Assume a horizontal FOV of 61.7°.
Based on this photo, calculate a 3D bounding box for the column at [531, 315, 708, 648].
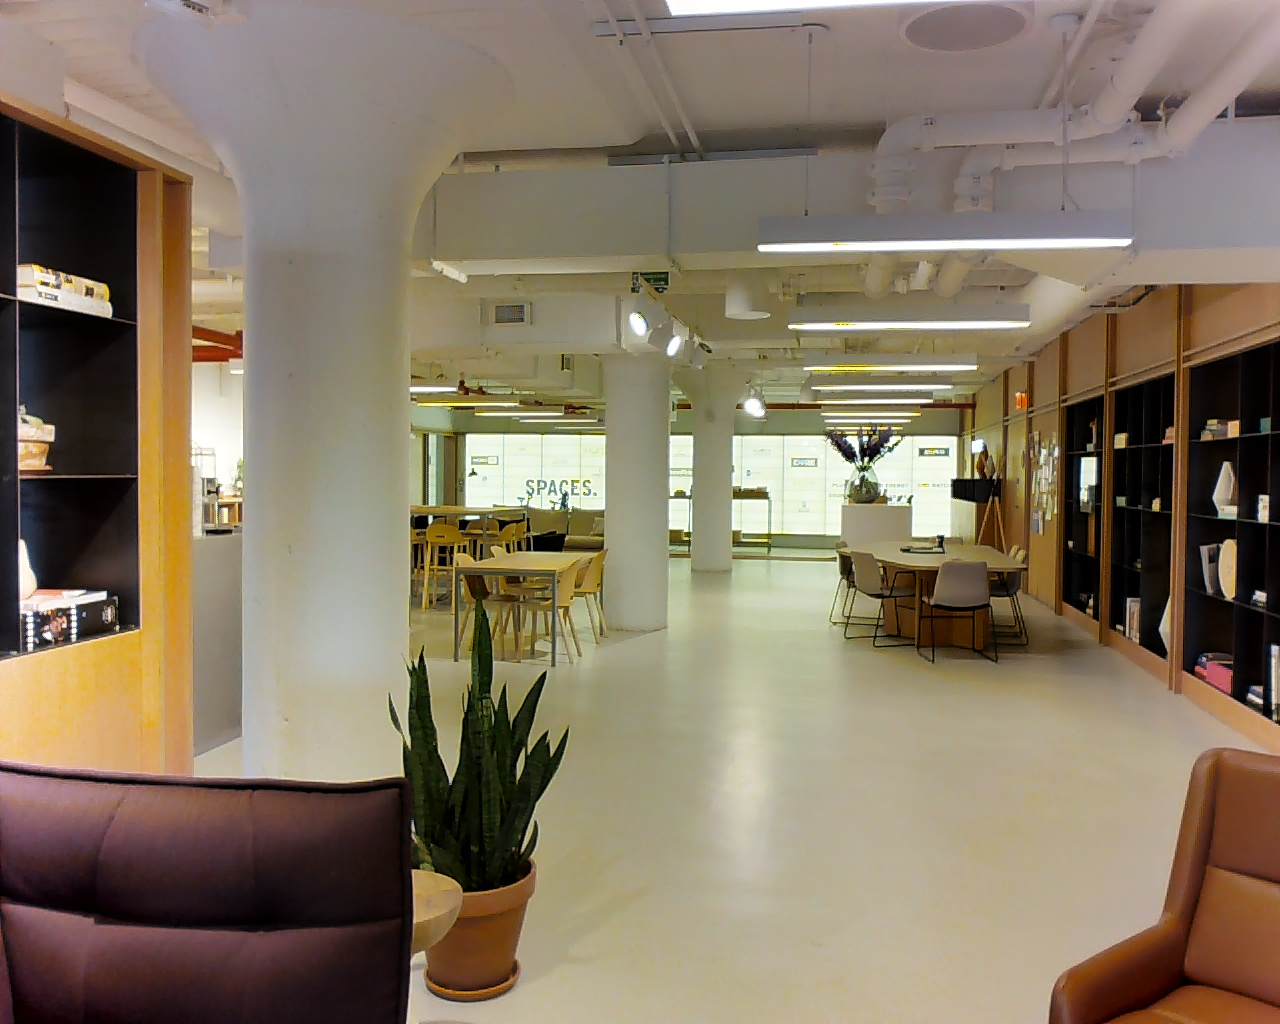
[{"bbox_3d":[-0.150,-0.290,10.170,1.390,2.911,1.440,1,2,10],"label":"column"}]
